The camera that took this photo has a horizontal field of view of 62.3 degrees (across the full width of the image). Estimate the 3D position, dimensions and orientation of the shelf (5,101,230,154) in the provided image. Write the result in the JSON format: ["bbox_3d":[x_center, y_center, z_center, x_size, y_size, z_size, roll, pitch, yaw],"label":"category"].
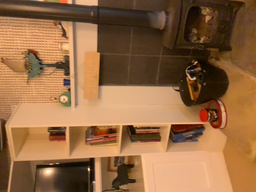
[{"bbox_3d":[-0.040,0.270,2.060,0.460,1.940,0.240,-113,26,-62],"label":"shelf"}]

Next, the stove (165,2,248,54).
[{"bbox_3d":[0.640,-0.590,1.820,0.340,0.510,0.350,-114,28,-63],"label":"stove"}]

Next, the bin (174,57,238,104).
[{"bbox_3d":[0.680,-0.150,1.940,0.440,0.330,0.260,-110,24,-59],"label":"bin"}]
